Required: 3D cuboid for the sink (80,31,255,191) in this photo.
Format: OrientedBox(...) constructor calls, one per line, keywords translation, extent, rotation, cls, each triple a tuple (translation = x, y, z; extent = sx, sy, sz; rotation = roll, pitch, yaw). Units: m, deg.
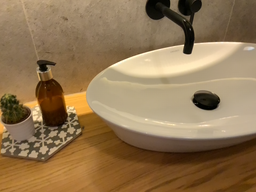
OrientedBox(translation=(0.220, -0.010, 0.550), extent=(0.610, 0.120, 0.390), rotation=(-11, 38, -15), cls="sink")
